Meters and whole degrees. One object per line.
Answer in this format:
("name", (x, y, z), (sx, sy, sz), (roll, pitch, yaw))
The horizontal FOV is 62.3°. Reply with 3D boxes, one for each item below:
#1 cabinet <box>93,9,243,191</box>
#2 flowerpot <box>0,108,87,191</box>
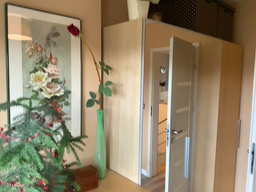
("cabinet", (0.460, 0.470, 2.020), (1.530, 2.070, 0.520), (-4, 8, -43))
("flowerpot", (-0.380, 0.330, 0.760), (0.300, 0.500, 0.400), (-4, 7, -39))
